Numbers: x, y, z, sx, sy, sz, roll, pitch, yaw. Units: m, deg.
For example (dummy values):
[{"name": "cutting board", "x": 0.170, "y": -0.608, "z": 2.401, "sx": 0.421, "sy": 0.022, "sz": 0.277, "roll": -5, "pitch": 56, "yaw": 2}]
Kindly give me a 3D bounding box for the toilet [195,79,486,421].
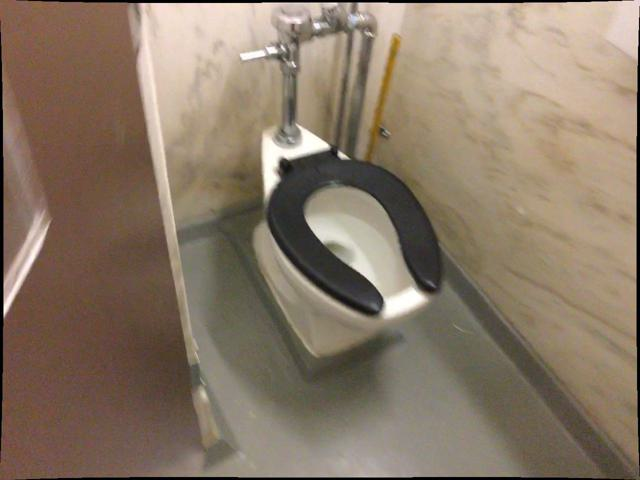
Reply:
[{"name": "toilet", "x": -0.010, "y": -0.010, "z": 1.540, "sx": 0.390, "sy": 0.460, "sz": 0.730, "roll": -17, "pitch": 51, "yaw": -24}]
